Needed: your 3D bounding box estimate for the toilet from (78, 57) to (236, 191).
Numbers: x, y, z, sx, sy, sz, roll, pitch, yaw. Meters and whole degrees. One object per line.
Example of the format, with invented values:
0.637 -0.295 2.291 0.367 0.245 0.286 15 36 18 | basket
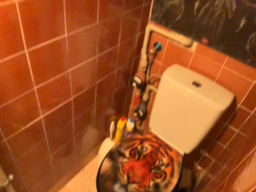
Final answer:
0.120 0.320 1.140 0.370 0.780 0.660 32 48 21 | toilet
